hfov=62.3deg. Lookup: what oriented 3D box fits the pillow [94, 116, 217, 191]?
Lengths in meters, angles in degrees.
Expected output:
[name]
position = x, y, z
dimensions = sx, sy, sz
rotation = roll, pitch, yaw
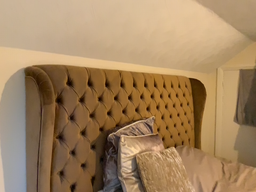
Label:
[pillow]
position = 0.160, 0.490, 1.390
dimensions = 0.540, 0.710, 0.240
rotation = -2, 42, -48
